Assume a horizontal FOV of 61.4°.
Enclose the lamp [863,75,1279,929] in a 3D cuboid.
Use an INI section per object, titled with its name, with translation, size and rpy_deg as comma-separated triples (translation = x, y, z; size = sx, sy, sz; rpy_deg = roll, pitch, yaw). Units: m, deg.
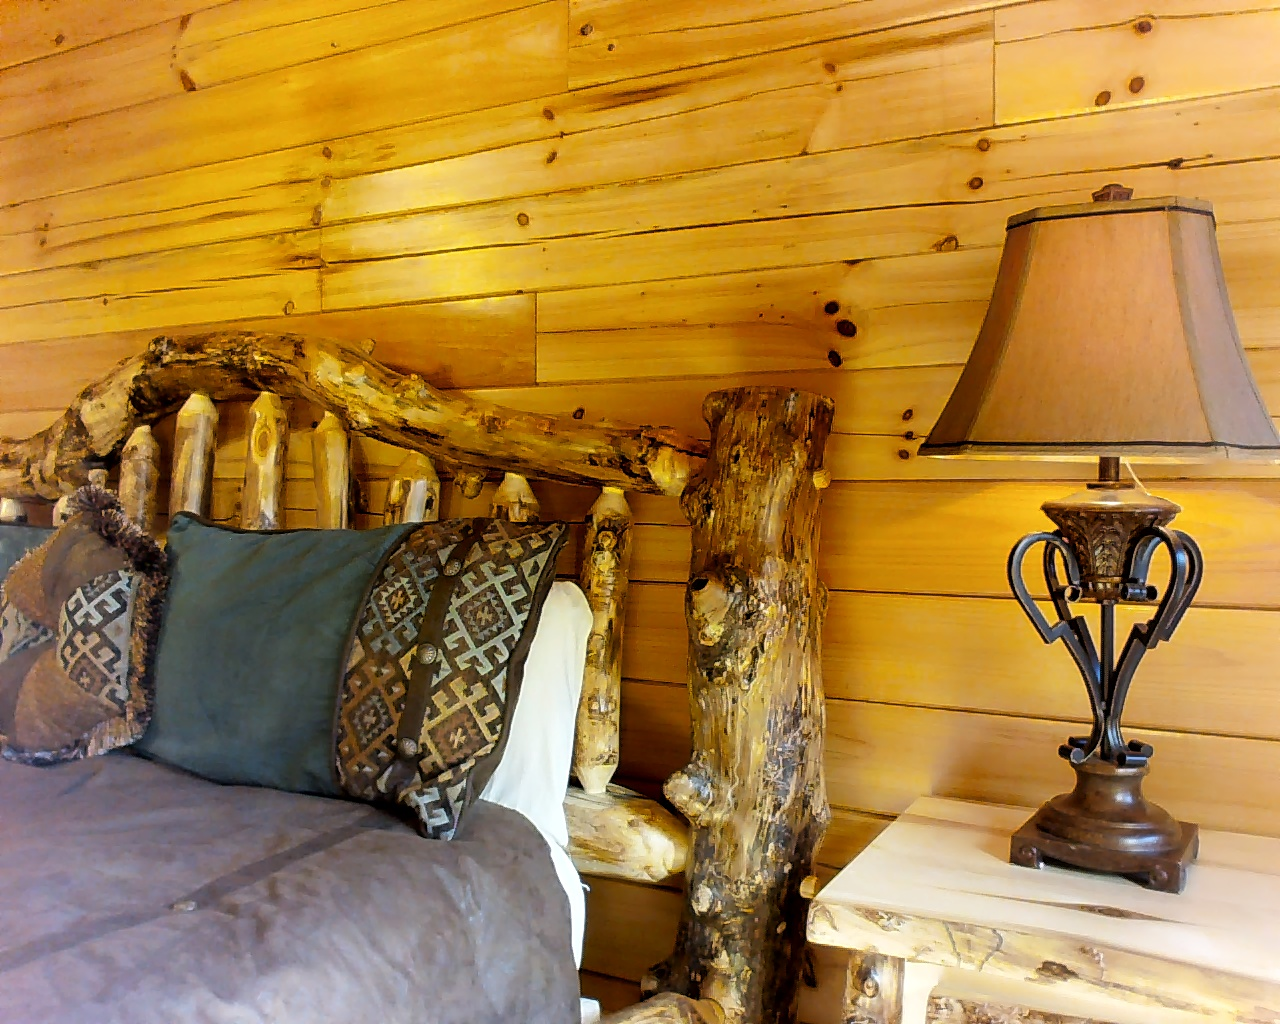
[lamp]
translation = 0.600, -0.010, 1.370
size = 0.520, 0.870, 0.430
rpy_deg = 0, 0, 28
